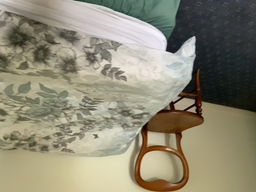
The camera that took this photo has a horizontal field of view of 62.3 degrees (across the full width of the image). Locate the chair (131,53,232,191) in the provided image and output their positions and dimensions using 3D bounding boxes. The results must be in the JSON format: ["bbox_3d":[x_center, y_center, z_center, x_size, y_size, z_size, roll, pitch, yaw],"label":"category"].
[{"bbox_3d":[0.310,0.210,1.520,0.430,0.820,0.480,9,151,-16],"label":"chair"}]
